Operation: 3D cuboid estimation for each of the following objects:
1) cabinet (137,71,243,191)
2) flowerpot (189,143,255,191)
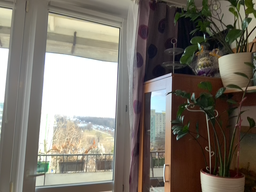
[{"bbox_3d":[0.420,0.780,1.550,0.560,1.800,0.500,4,-6,-19],"label":"cabinet"},{"bbox_3d":[0.530,0.450,1.180,0.250,0.330,0.270,5,-6,-23],"label":"flowerpot"}]
